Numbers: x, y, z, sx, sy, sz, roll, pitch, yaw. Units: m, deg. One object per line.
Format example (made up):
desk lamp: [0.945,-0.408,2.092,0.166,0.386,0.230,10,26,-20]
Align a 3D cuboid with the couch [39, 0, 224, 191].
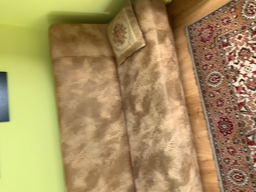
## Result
couch: [-0.030,0.270,1.700,0.950,0.870,1.960,-22,75,49]
